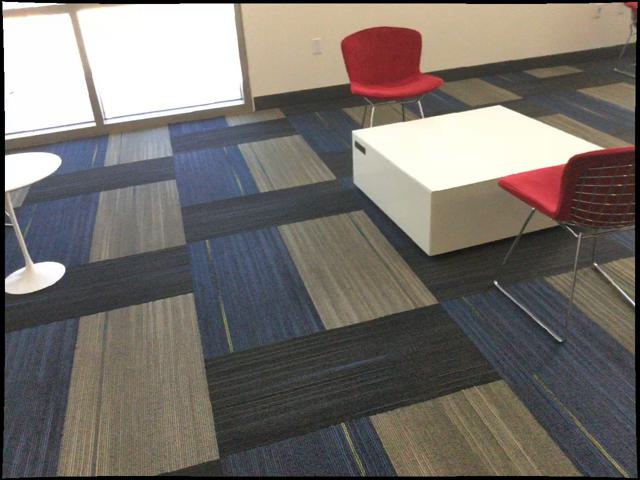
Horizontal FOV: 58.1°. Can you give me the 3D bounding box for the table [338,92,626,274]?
[{"bbox_3d":[0.738,-0.361,2.940,0.988,0.361,1.020,-14,31,-13],"label":"table"}]
